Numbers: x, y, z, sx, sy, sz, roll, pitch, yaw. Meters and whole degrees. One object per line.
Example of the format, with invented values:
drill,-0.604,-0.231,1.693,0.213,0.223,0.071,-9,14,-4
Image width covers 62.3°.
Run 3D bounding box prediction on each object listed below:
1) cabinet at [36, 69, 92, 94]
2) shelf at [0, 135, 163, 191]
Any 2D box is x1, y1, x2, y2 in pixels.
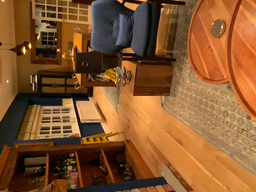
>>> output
cabinet,-2.280,-0.520,7.640,0.730,1.830,0.680,-135,48,-63
shelf,-0.760,1.130,2.940,1.380,2.010,0.420,-136,49,-64
